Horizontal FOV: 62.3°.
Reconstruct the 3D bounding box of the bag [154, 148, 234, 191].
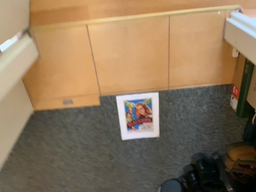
[{"bbox_3d":[0.370,0.670,1.310,0.360,0.350,0.570,-5,123,2],"label":"bag"}]
